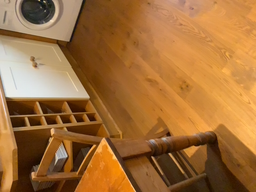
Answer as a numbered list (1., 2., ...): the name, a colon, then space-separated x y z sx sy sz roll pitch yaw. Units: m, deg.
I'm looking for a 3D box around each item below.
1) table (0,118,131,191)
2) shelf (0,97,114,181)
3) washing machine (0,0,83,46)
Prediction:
1. table: -0.490 0.510 1.640 0.280 0.840 0.610 52 126 35
2. shelf: -0.640 0.330 1.820 0.310 0.840 0.580 52 126 35
3. washing machine: -1.090 -1.070 2.320 0.700 0.870 0.620 52 126 36
